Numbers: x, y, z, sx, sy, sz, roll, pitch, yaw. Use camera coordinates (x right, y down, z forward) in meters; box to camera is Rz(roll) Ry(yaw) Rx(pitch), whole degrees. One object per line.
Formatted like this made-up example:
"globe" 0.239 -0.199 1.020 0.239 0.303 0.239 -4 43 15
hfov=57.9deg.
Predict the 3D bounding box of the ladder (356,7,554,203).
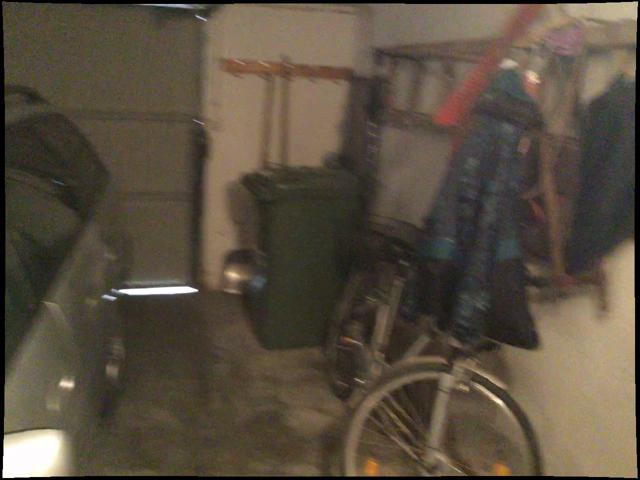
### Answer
"ladder" 0.509 -0.741 2.760 0.110 0.470 1.640 1 28 -17
